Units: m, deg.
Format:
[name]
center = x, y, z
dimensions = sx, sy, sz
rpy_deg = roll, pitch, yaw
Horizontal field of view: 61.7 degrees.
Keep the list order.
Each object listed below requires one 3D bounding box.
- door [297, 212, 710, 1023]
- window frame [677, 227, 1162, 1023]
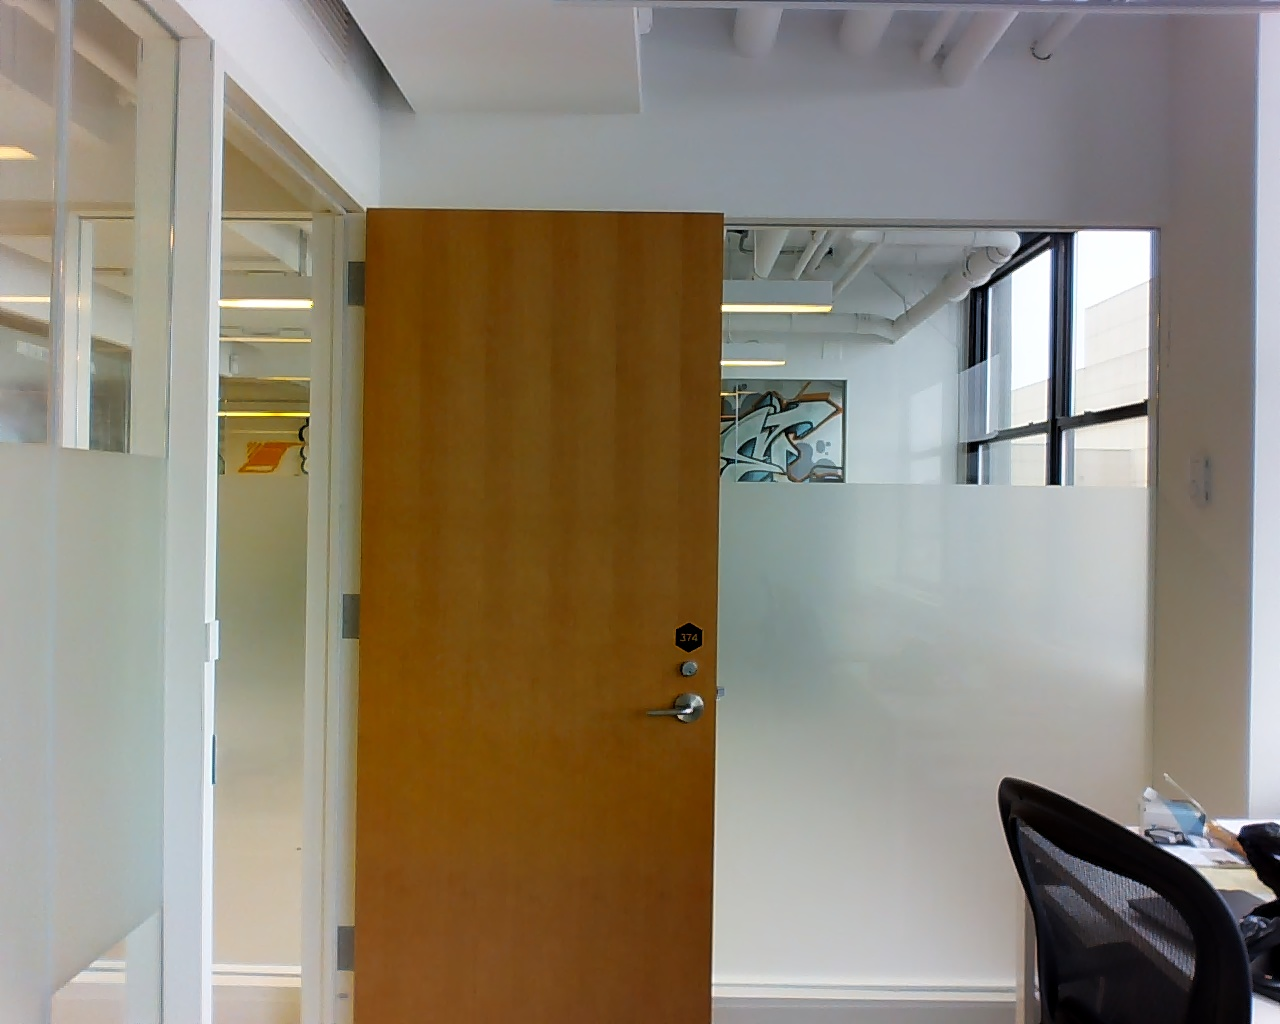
[door]
center = -0.340, 0.350, 2.840
dimensions = 1.010, 2.190, 0.330
rpy_deg = 1, 0, 1
[window frame]
center = 0.750, 0.350, 2.940
dimensions = 1.270, 2.220, 0.140
rpy_deg = 1, 0, 1
